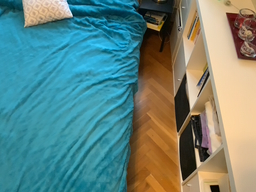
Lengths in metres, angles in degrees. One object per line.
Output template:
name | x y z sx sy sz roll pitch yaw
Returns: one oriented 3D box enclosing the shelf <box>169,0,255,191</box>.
shelf | 0.560 0.110 1.310 0.410 0.770 1.450 6 57 0
